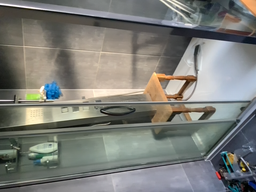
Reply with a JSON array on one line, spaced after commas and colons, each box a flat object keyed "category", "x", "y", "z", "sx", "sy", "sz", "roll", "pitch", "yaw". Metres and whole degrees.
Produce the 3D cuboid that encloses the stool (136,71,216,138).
[{"category": "stool", "x": 0.410, "y": 0.070, "z": 1.950, "sx": 0.380, "sy": 0.470, "sz": 0.450, "roll": 112, "pitch": 149, "yaw": -44}]
